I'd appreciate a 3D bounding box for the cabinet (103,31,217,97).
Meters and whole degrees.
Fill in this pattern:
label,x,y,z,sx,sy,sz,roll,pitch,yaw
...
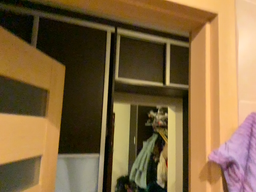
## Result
label,x,y,z,sx,sy,sz,roll,pitch,yaw
cabinet,0.290,-0.260,2.090,0.970,0.410,0.520,5,-7,-17
